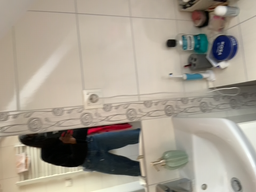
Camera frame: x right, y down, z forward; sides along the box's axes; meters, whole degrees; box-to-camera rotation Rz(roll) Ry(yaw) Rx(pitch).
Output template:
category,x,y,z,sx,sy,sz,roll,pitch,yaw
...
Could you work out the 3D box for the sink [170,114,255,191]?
category,x,y,z,sx,sy,sz,roll,pitch,yaw
sink,0.400,0.380,0.840,0.440,0.200,0.600,167,98,-69
